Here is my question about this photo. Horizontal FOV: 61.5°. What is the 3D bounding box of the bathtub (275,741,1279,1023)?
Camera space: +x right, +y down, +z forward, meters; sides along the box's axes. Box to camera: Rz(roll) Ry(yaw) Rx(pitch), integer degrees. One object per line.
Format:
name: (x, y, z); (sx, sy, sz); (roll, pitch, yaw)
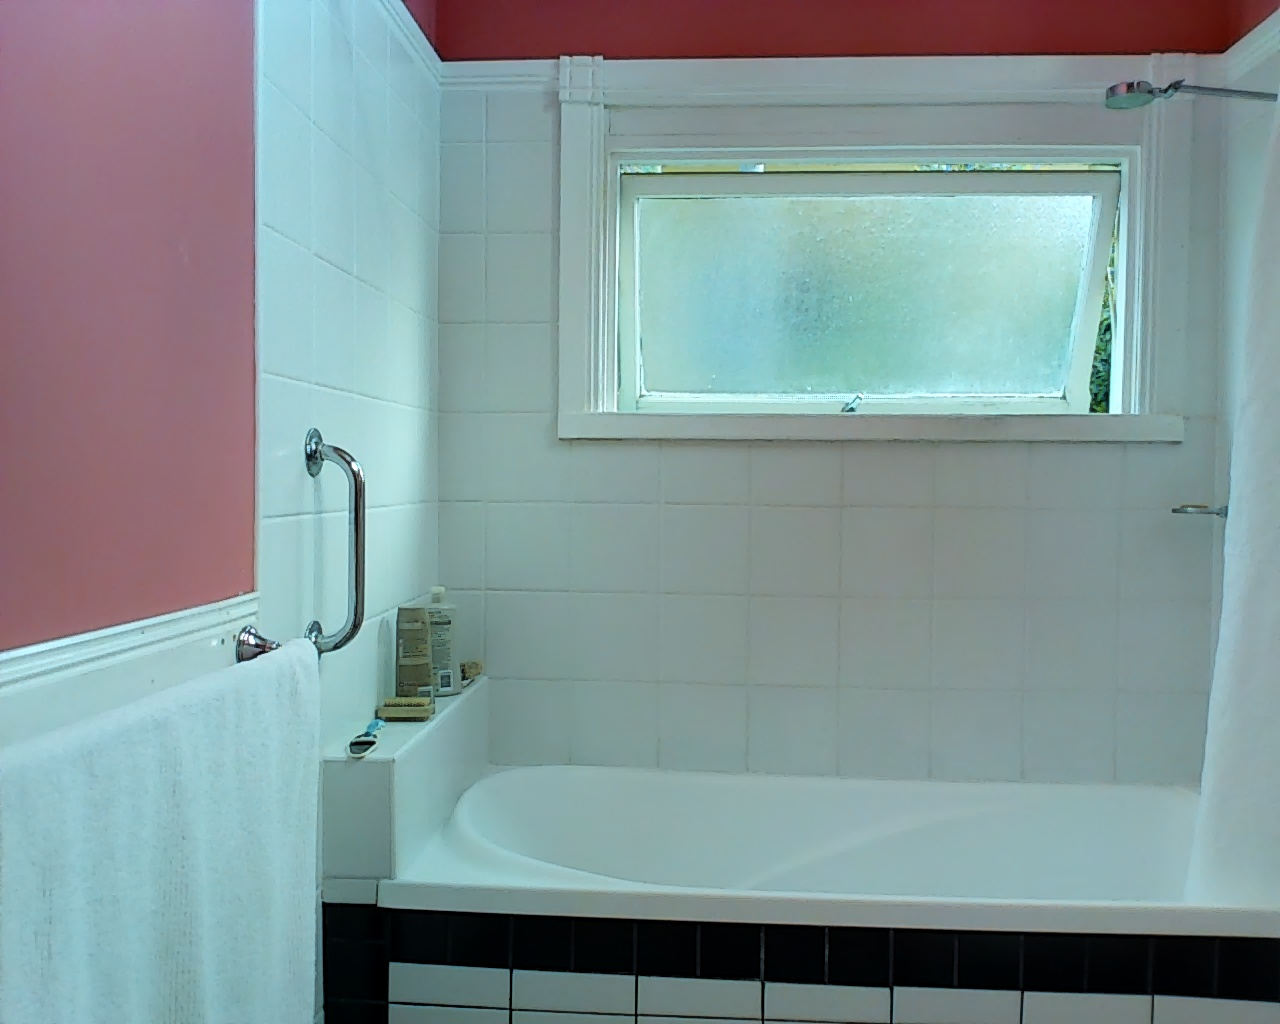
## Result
bathtub: (0.330, 0.860, 2.060); (1.799, 0.600, 0.750); (1, 2, 3)

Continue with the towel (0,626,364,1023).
towel: (-0.470, 0.550, 1.100); (0.150, 0.770, 0.690); (1, 2, 3)
